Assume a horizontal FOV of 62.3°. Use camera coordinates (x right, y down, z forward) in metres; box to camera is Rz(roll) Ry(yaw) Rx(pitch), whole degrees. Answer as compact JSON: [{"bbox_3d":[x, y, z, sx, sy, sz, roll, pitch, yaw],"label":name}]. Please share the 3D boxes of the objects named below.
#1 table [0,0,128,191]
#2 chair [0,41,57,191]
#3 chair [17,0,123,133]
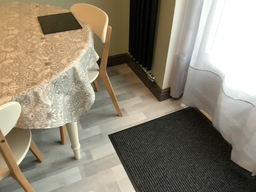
[{"bbox_3d":[-1.020,0.030,1.230,1.660,0.760,1.250,-15,43,-19],"label":"table"},{"bbox_3d":[-0.620,0.280,0.920,0.450,0.790,0.560,-14,43,-19],"label":"chair"},{"bbox_3d":[-0.380,-0.230,1.540,0.550,0.790,0.440,-14,43,-18],"label":"chair"}]
